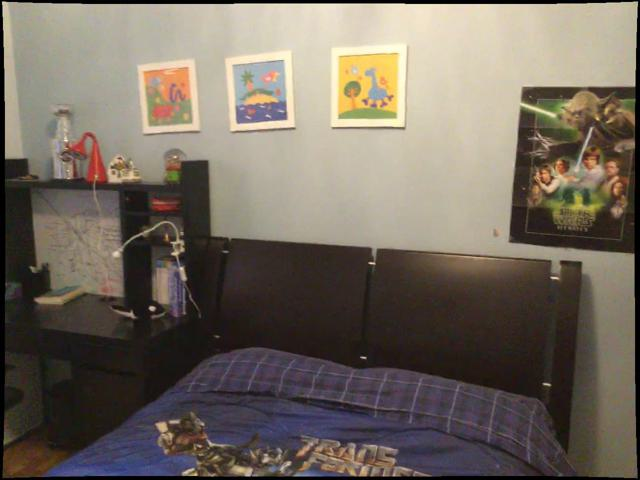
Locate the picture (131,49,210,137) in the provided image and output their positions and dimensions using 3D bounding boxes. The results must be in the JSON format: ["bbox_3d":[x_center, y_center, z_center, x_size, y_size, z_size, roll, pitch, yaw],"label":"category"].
[{"bbox_3d":[-0.639,-0.621,2.470,0.350,0.350,0.030,3,12,20],"label":"picture"}]

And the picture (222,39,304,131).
[{"bbox_3d":[-0.230,-0.611,2.310,0.340,0.340,0.020,3,12,20],"label":"picture"}]

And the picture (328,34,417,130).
[{"bbox_3d":[0.190,-0.581,2.150,0.330,0.330,0.030,3,12,20],"label":"picture"}]
